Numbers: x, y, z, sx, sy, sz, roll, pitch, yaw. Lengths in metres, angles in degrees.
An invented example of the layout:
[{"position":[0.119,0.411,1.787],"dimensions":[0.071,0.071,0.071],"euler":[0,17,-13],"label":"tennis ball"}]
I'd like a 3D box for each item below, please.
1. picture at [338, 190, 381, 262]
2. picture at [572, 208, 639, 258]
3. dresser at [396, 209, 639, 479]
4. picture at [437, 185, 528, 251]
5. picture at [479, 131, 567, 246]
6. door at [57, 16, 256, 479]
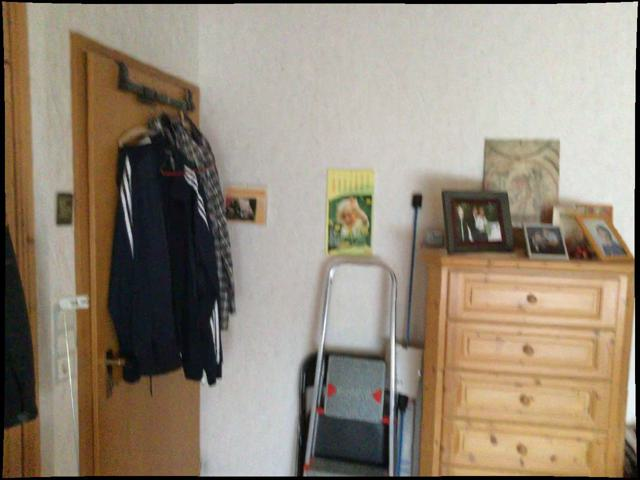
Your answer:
[{"position":[0.170,-0.060,2.490],"dimensions":[0.170,0.300,0.040],"euler":[3,7,11],"label":"picture"},{"position":[1.029,-0.030,2.060],"dimensions":[0.190,0.150,0.200],"euler":[3,7,11],"label":"picture"},{"position":[0.749,0.661,2.230],"dimensions":[0.849,1.491,0.560],"euler":[3,7,11],"label":"dresser"},{"position":[0.599,-0.090,2.170],"dimensions":[0.300,0.220,0.220],"euler":[3,7,11],"label":"picture"},{"position":[0.819,-0.210,2.350],"dimensions":[0.300,0.450,0.060],"euler":[3,7,11],"label":"picture"},{"position":[-0.539,0.350,2.190],"dimensions":[0.250,2.042,1.010],"euler":[3,7,11],"label":"door"}]
